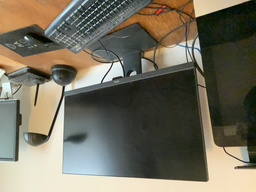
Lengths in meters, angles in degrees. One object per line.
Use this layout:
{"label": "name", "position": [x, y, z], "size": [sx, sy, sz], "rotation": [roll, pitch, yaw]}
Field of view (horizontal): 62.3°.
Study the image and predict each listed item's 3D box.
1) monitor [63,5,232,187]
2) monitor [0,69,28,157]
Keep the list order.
{"label": "monitor", "position": [-0.010, 0.030, 0.820], "size": [0.620, 0.550, 0.060], "rotation": [-18, 158, 28]}
{"label": "monitor", "position": [-0.790, 0.120, 1.250], "size": [0.430, 0.480, 0.050], "rotation": [-15, 158, 14]}
